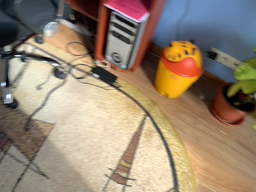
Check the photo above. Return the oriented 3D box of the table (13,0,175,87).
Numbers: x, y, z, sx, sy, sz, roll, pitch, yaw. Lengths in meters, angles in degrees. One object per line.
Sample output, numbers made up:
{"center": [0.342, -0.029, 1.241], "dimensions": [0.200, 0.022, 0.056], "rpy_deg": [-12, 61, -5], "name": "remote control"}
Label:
{"center": [-0.220, -0.660, 1.340], "dimensions": [0.920, 0.740, 0.470], "rpy_deg": [31, 51, 10], "name": "table"}
